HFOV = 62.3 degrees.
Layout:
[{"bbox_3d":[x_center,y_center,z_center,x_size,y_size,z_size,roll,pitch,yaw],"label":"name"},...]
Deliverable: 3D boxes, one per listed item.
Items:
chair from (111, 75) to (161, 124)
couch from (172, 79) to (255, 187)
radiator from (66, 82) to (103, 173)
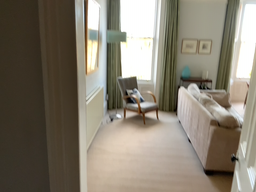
[{"bbox_3d":[0.160,0.030,4.660,0.860,0.840,0.590,14,19,37],"label":"chair"},{"bbox_3d":[1.470,0.370,3.540,1.070,0.840,2.320,3,15,3],"label":"couch"},{"bbox_3d":[-0.600,0.330,3.290,0.120,0.710,1.780,3,16,2],"label":"radiator"}]
